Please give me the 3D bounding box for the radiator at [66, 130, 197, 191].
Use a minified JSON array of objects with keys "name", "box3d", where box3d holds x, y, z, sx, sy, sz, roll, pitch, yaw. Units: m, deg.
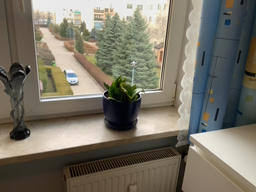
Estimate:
[{"name":"radiator","box3d":[0.020,0.610,1.220,0.690,0.730,0.150,-6,22,-26]}]
